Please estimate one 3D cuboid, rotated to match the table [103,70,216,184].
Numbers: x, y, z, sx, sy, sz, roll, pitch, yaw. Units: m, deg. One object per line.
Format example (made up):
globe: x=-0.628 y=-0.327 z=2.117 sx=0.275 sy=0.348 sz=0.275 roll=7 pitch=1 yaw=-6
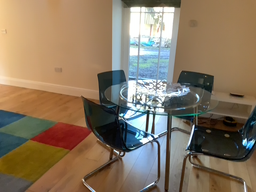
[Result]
table: x=0.370 y=0.230 z=2.320 sx=0.980 sy=0.770 sz=0.850 roll=10 pitch=20 yaw=21
